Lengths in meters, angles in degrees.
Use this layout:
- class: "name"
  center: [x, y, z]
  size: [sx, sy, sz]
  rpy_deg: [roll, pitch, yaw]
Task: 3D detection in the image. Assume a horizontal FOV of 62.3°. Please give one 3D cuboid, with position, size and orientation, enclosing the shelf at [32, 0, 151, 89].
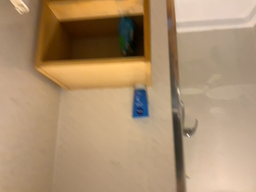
- class: "shelf"
  center: [-0.120, -0.590, 1.010]
  size: [0.420, 1.060, 0.300]
  rpy_deg: [-2, 166, 8]
